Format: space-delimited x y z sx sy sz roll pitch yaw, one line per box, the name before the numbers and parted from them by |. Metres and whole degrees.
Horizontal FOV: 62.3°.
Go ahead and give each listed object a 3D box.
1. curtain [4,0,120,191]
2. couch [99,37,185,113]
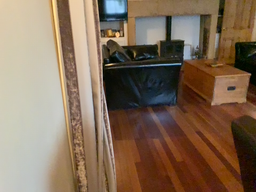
curtain | -0.260 -0.170 0.960 0.320 2.410 0.460 -6 22 -11
couch | 0.100 -0.490 3.690 1.110 0.820 1.760 -4 21 -6
